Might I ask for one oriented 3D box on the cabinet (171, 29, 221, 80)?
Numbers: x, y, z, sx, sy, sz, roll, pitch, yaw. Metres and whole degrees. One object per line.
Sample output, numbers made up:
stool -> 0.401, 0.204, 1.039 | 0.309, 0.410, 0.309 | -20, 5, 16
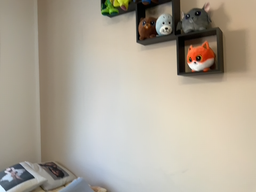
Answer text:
cabinet -> 0.400, -0.230, 1.250 | 0.240, 0.240, 0.150 | -2, -1, 35

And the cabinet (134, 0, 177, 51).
cabinet -> 0.180, -0.470, 1.410 | 0.250, 0.280, 0.120 | -2, -1, 35
